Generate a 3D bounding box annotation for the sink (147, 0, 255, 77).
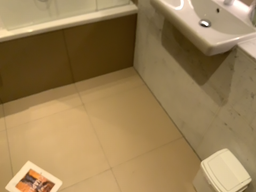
[{"bbox_3d":[0.460,-0.400,1.160,0.480,0.110,0.580,-20,54,-19],"label":"sink"}]
